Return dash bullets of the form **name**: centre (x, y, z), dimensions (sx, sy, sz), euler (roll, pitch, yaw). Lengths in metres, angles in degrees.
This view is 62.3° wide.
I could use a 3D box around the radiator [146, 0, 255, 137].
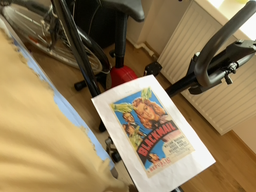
- **radiator**: centre (0.530, -0.210, 1.410), dimensions (0.190, 0.590, 0.820), euler (-27, 71, -28)
